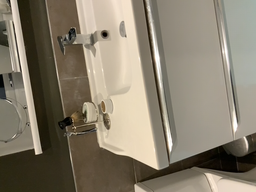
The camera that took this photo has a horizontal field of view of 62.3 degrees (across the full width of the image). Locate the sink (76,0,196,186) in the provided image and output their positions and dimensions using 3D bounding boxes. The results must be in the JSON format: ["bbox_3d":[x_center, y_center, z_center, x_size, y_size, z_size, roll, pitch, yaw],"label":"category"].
[{"bbox_3d":[-0.030,-0.250,0.840,0.450,0.190,1.020,-4,94,63],"label":"sink"}]
